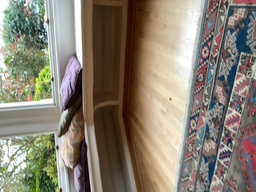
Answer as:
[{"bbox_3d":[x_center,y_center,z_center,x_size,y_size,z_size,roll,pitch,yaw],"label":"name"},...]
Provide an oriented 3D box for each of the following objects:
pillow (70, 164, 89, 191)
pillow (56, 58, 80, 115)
[{"bbox_3d":[-0.440,0.780,1.910,0.380,0.110,0.290,130,132,-63],"label":"pillow"},{"bbox_3d":[-0.570,-0.110,2.000,0.460,0.160,0.420,-137,46,-63],"label":"pillow"}]
